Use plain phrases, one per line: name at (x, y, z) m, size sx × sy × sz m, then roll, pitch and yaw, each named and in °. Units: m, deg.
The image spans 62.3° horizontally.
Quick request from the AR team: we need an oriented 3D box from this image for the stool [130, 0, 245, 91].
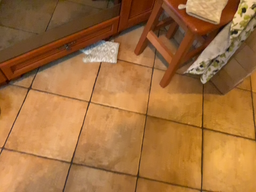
stool at (0.250, -0.310, 1.070) m, size 0.270 × 0.440 × 0.320 m, roll -30°, pitch 73°, yaw -22°
